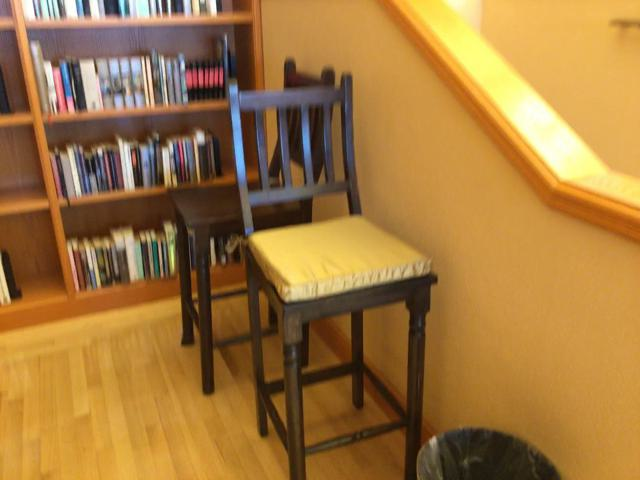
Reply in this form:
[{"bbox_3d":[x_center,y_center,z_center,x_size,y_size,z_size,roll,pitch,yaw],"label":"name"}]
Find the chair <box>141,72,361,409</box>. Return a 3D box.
[{"bbox_3d":[-0.260,-0.040,2.220,0.610,1.080,0.560,-11,25,-24],"label":"chair"}]
